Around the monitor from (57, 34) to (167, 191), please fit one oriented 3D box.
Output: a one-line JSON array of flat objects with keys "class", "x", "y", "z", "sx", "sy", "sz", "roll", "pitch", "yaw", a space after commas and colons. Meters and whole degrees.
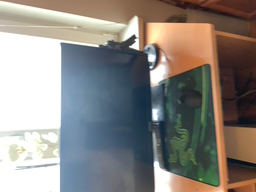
[{"class": "monitor", "x": -0.060, "y": 0.120, "z": 0.990, "sx": 0.050, "sy": 0.480, "sz": 0.780, "roll": 167, "pitch": 100, "yaw": -64}]
